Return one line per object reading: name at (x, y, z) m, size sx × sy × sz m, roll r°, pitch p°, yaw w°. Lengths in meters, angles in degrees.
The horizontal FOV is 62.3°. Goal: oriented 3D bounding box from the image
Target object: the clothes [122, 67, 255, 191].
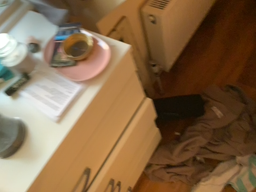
clothes at (0.430, 0.210, 1.100) m, size 0.840 × 0.140 × 0.590 m, roll -15°, pitch 60°, yaw 7°
